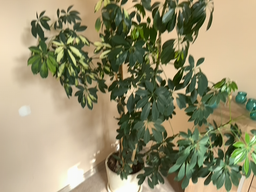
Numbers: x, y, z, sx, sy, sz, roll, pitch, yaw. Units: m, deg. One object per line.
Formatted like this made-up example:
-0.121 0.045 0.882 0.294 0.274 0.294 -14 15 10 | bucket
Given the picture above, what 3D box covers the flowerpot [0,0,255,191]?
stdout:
0.150 -0.120 1.410 1.520 2.160 1.300 5 22 5 | flowerpot
